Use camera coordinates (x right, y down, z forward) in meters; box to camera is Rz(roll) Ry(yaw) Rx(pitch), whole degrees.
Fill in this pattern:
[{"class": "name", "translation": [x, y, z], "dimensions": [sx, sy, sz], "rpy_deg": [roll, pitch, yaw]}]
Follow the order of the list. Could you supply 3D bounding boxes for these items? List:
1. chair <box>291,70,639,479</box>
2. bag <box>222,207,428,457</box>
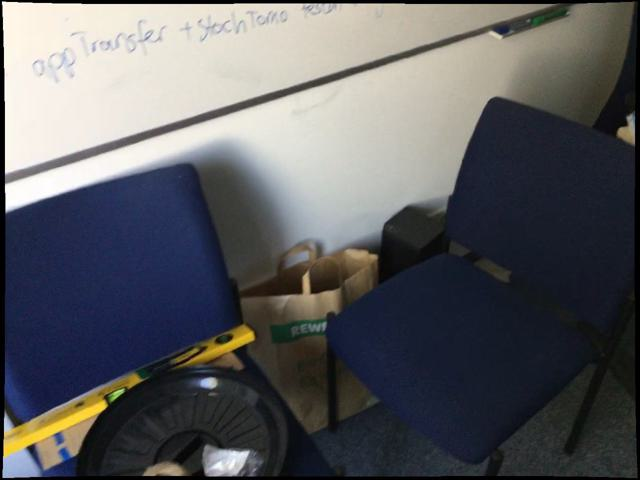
[{"class": "chair", "translation": [0.360, 0.140, 1.300], "dimensions": [0.640, 0.750, 0.490], "rpy_deg": [-27, 46, -27]}, {"class": "bag", "translation": [0.020, 0.240, 1.560], "dimensions": [0.420, 0.460, 0.280], "rpy_deg": [-27, 46, -27]}]
